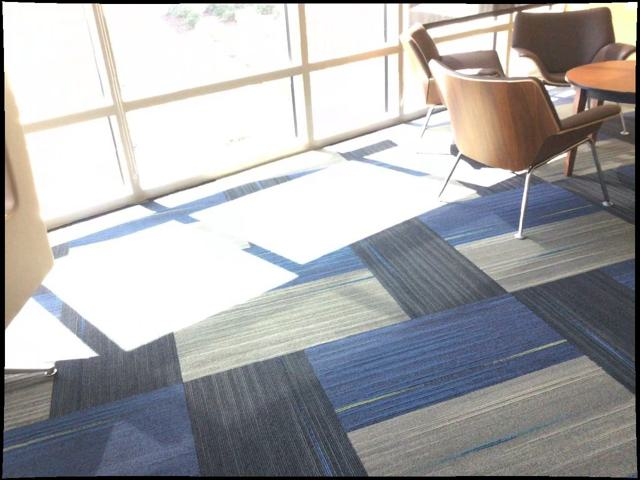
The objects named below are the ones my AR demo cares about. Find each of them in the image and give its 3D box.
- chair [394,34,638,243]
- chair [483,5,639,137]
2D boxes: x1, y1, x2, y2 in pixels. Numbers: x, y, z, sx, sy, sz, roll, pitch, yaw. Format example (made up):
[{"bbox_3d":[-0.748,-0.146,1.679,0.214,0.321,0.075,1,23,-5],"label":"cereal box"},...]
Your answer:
[{"bbox_3d":[0.967,-0.592,3.040,0.769,0.751,0.860,-19,31,-24],"label":"chair"},{"bbox_3d":[1.785,-1.293,4.340,0.898,0.731,0.840,-3,28,5],"label":"chair"}]
